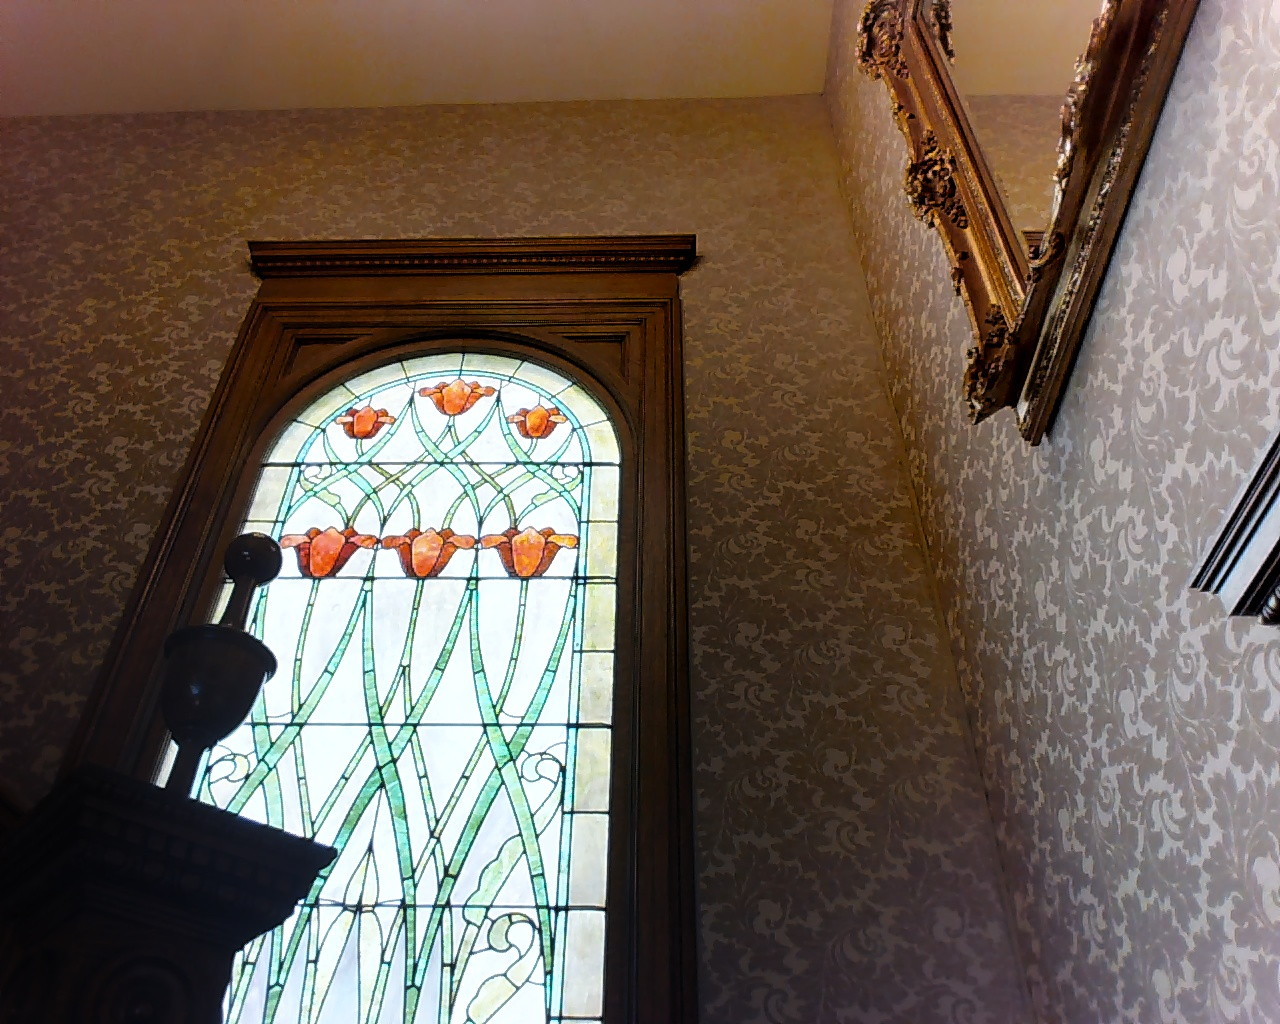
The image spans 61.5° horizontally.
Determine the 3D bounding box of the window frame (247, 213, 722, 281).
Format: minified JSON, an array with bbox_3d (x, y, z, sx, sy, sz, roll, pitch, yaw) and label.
[{"bbox_3d":[-0.530,-0.930,3.770,1.619,0.260,0.080,0,-42,2],"label":"window frame"}]
